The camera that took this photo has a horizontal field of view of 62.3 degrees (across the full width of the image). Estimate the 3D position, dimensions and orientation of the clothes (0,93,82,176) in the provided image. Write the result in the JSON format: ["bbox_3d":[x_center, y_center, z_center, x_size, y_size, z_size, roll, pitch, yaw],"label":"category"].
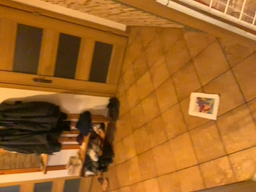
[{"bbox_3d":[-1.330,0.470,2.680,0.360,1.280,0.920,28,109,56],"label":"clothes"}]

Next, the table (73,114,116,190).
[{"bbox_3d":[-0.530,0.860,3.290,0.280,0.380,1.110,31,112,55],"label":"table"}]
